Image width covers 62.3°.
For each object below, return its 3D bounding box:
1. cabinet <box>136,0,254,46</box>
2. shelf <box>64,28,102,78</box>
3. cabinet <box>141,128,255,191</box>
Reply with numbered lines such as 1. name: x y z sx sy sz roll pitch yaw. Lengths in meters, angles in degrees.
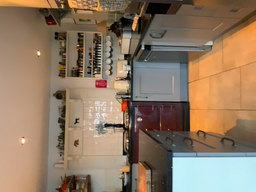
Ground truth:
1. cabinet: 0.570 -0.900 2.110 0.780 0.880 0.570 159 112 -84
2. shelf: -0.760 -0.720 3.610 0.100 0.610 0.810 162 109 -84
3. cabinet: 0.610 0.560 1.700 1.080 0.840 0.520 145 126 -83
